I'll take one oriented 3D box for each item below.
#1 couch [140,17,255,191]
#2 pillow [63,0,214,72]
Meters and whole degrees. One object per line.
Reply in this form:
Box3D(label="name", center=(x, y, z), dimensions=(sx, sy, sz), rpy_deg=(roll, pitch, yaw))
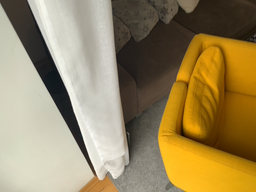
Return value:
Box3D(label="couch", center=(0.580, 0.190, 1.190), dimensions=(0.770, 0.750, 0.780), rpy_deg=(18, 57, 13))
Box3D(label="pillow", center=(0.180, -0.690, 1.610), dimensions=(1.260, 0.320, 0.310), rpy_deg=(-35, 61, -21))
